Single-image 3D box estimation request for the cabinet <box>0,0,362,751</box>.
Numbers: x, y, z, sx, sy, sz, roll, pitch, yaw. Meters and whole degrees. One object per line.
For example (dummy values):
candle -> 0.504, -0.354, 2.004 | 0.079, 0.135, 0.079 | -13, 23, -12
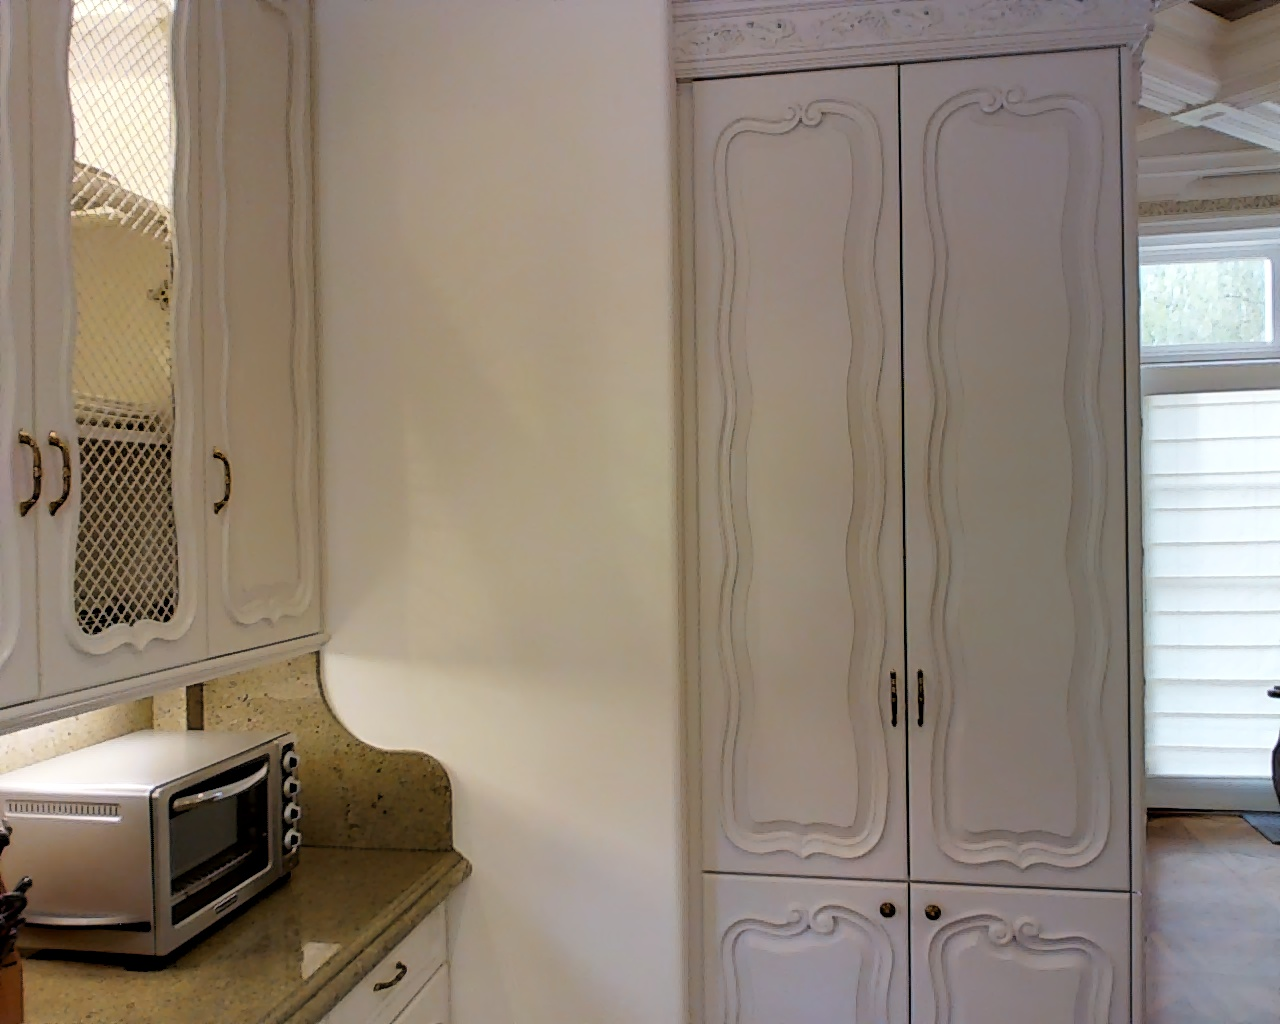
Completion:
cabinet -> -0.950, -0.510, 1.700 | 0.410, 1.620, 1.310 | -1, 0, 12
